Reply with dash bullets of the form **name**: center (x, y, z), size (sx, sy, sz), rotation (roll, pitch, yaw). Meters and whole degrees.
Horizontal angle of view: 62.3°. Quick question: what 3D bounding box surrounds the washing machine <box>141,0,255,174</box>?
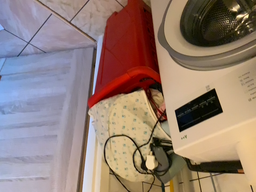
- **washing machine**: center (0.440, -0.250, 0.780), size (0.470, 0.840, 0.600), rotation (29, 135, -35)
